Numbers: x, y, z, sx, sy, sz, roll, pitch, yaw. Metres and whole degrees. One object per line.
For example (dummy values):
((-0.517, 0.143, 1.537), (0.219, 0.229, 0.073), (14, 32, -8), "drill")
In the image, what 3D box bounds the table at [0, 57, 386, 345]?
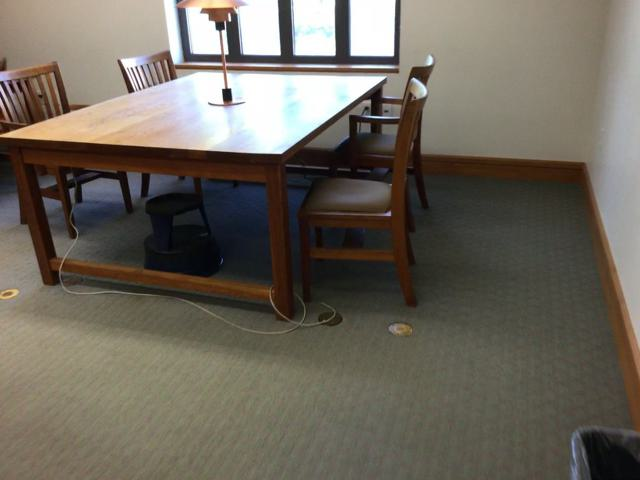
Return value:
((-0.540, -0.410, 3.180), (1.430, 1.050, 1.760), (8, 18, 14), "table")
